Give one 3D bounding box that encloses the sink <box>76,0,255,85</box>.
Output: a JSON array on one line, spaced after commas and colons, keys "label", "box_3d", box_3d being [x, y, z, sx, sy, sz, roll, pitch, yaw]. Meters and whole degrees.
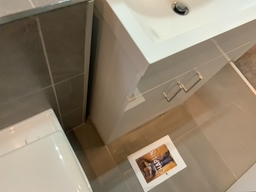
[{"label": "sink", "box_3d": [0.190, -0.320, 0.680, 0.630, 0.130, 0.350, -24, 73, -21]}]
